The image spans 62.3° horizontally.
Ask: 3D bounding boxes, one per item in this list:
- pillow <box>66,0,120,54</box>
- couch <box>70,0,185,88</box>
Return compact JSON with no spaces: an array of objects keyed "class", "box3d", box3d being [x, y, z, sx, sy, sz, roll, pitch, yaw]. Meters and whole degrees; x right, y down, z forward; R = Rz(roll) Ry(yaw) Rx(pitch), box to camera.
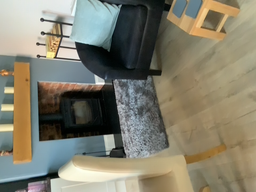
[{"class":"pillow","box3d":[-0.350,-0.690,1.970,0.400,0.330,0.420,56,136,46]},{"class":"couch","box3d":[-0.070,-0.560,1.940,0.670,0.700,0.760,45,128,53]}]
